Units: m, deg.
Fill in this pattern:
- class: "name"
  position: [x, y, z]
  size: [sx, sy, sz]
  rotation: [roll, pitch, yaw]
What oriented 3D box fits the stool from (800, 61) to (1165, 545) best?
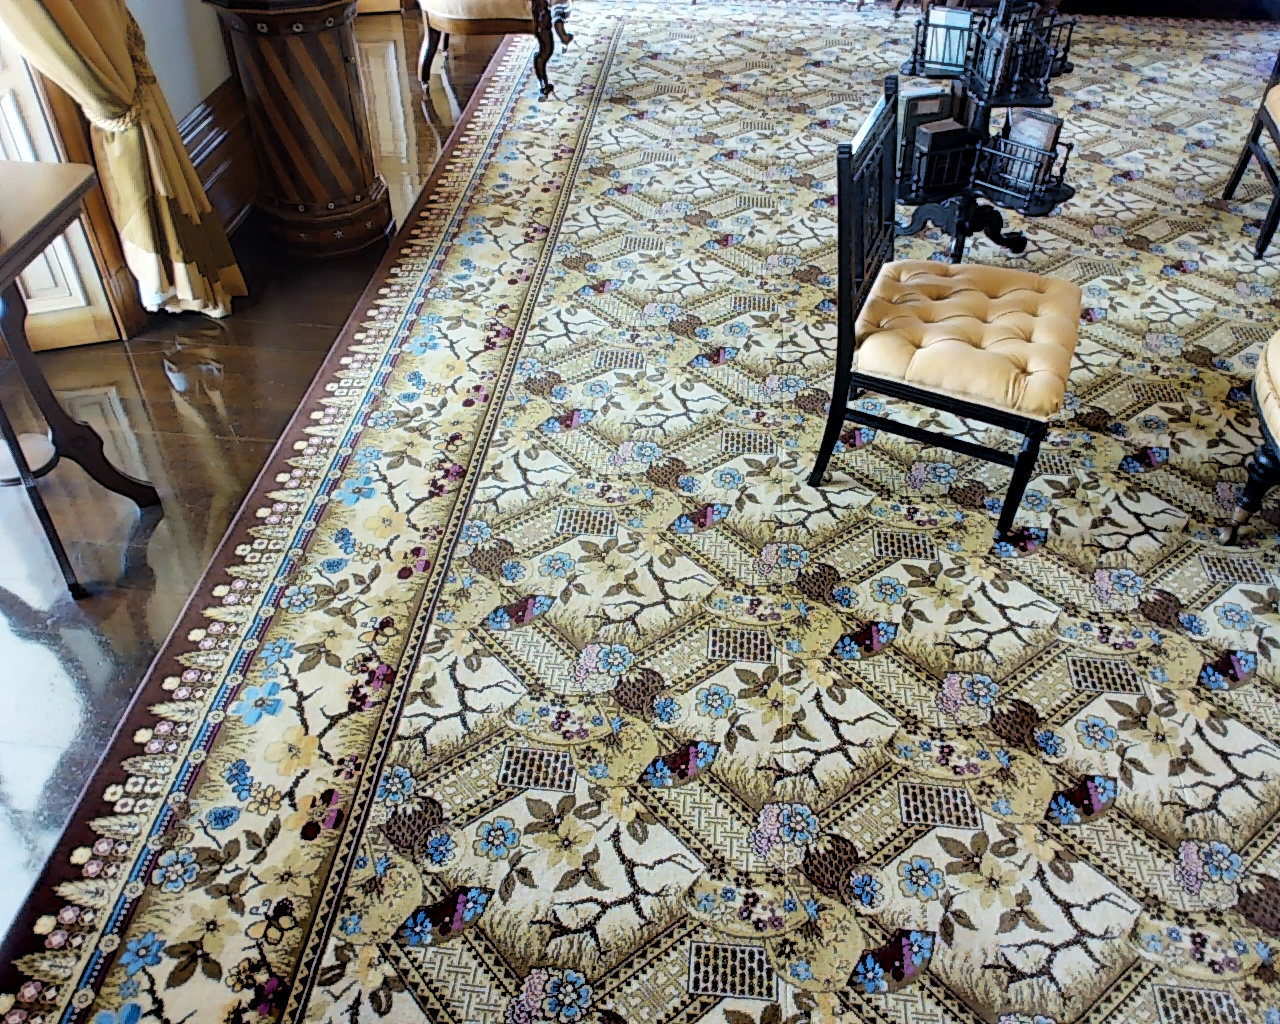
- class: "stool"
  position: [0.690, -0.440, 2.260]
  size: [0.520, 0.750, 0.550]
  rotation: [13, 43, 13]
